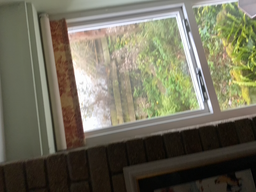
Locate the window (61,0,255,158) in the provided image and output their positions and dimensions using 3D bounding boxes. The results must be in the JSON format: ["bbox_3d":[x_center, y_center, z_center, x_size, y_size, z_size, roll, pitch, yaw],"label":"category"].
[{"bbox_3d":[0.510,-0.220,1.620,0.140,1.860,0.990,107,153,-78],"label":"window"}]
